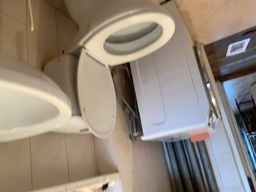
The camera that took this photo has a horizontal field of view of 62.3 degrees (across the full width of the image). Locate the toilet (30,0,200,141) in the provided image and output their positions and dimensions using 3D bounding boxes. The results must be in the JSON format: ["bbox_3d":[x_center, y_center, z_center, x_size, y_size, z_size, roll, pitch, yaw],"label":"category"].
[{"bbox_3d":[-0.090,-0.240,1.060,0.620,0.800,0.400,-18,161,22],"label":"toilet"}]
